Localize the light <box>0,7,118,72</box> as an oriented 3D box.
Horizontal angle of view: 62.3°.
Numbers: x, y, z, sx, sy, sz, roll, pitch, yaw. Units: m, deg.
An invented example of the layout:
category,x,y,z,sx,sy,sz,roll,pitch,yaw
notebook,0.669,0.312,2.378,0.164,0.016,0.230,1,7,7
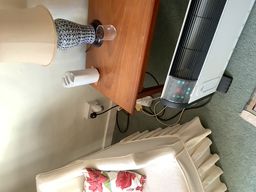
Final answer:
category,x,y,z,sx,sy,sz,roll,pitch,yaw
light,-0.370,-0.310,1.090,0.260,0.570,0.200,38,129,35
